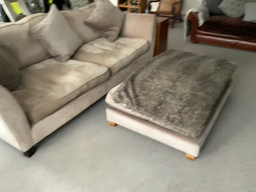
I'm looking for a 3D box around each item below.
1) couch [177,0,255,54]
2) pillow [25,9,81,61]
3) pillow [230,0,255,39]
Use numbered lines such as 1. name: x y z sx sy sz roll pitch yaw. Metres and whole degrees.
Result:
1. couch: 2.230 -1.240 3.620 2.410 0.690 1.110 19 37 28
2. pillow: -0.780 -0.690 2.320 0.140 0.430 0.550 -16 22 21
3. pillow: 2.130 -1.360 3.490 0.210 0.530 0.560 -41 -6 -44
